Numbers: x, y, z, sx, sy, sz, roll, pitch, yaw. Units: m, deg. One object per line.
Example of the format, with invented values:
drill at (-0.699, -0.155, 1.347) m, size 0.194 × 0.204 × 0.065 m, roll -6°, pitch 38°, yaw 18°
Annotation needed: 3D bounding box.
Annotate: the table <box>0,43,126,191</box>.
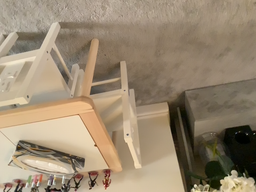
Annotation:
table at (-0.510, 0.180, 1.270) m, size 0.870 × 0.560 × 0.620 m, roll -10°, pitch 135°, yaw 4°
